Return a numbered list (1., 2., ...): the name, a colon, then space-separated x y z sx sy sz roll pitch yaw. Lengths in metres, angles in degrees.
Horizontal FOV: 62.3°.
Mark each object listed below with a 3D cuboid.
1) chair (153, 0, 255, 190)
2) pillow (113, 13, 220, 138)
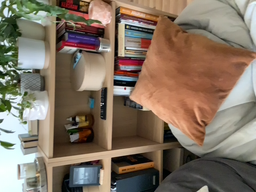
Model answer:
1. chair: 0.580 -0.130 0.980 0.860 0.450 0.920 3 92 58
2. pillow: 0.220 -0.090 1.040 0.240 0.400 0.430 16 73 39
